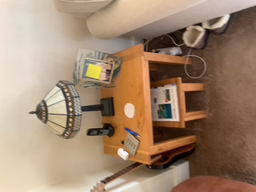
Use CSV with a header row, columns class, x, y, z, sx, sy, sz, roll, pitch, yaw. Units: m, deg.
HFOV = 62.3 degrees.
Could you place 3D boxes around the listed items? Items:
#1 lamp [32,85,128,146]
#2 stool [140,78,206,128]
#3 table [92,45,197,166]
class,x,y,z,sx,sy,sz,roll,pitch,yaw
lamp,-0.270,0.080,1.250,0.280,0.470,0.280,4,95,49
stool,0.300,0.040,1.420,0.300,0.290,0.290,-4,90,49
table,0.110,0.050,1.480,0.490,0.500,0.650,-4,90,49
